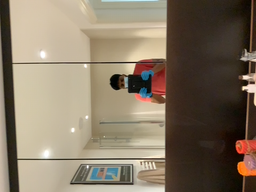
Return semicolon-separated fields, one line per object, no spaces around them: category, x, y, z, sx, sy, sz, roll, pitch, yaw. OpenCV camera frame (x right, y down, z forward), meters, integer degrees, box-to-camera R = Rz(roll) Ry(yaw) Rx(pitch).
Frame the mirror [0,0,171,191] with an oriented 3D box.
mirror;-0.260;0.090;1.420;0.100;1.050;1.740;-90;0;-84
